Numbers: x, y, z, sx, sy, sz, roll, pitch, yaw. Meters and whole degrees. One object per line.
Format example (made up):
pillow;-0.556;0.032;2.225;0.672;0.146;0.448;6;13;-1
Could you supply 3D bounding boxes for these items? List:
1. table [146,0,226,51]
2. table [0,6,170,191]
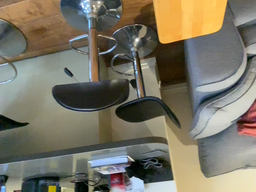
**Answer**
table;0.250;-0.510;1.050;0.320;0.390;0.330;-10;153;10
table;-0.750;0.200;1.620;1.950;0.900;0.980;-8;153;5
